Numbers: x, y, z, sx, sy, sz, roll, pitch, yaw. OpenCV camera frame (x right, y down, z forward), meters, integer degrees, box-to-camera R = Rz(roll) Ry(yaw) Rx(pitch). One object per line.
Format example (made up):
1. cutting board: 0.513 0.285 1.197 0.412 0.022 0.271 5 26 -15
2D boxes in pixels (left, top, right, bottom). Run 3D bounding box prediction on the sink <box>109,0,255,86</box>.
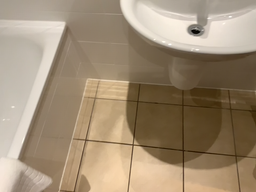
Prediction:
1. sink: 0.250 -0.270 0.730 0.550 0.180 0.410 5 62 7
